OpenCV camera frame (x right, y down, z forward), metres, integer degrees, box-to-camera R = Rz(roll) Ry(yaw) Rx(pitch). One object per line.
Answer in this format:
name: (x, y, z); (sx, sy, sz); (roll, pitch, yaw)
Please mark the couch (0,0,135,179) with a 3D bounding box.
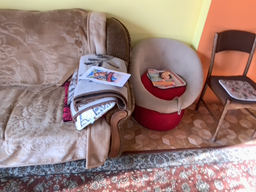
couch: (-1.190, -0.110, 1.590); (2.310, 0.940, 1.030); (1, 36, -6)
